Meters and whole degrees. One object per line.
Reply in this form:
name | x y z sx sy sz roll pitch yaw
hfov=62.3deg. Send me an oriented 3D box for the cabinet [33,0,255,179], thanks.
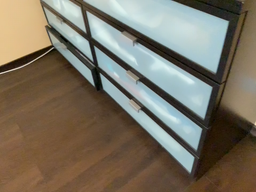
cabinet | -0.050 -0.430 1.300 0.520 0.850 1.560 -31 50 -23
